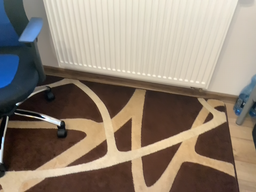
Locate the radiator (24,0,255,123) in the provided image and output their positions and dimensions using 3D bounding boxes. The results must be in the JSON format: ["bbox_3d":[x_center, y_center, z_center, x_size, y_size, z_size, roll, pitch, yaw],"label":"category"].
[{"bbox_3d":[0.110,-0.310,1.250,1.340,0.750,0.230,11,43,10],"label":"radiator"}]
